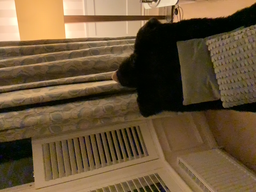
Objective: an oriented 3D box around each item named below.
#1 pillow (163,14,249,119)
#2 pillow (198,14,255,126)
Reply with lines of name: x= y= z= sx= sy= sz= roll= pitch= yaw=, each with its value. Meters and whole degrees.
pillow: x=0.530 y=-0.180 z=1.390 sx=0.500 sy=0.430 sz=0.120 roll=-53 pitch=29 yaw=-9
pillow: x=0.690 y=-0.170 z=1.200 sx=0.470 sy=0.460 sz=0.200 roll=-33 pitch=21 yaw=-25
